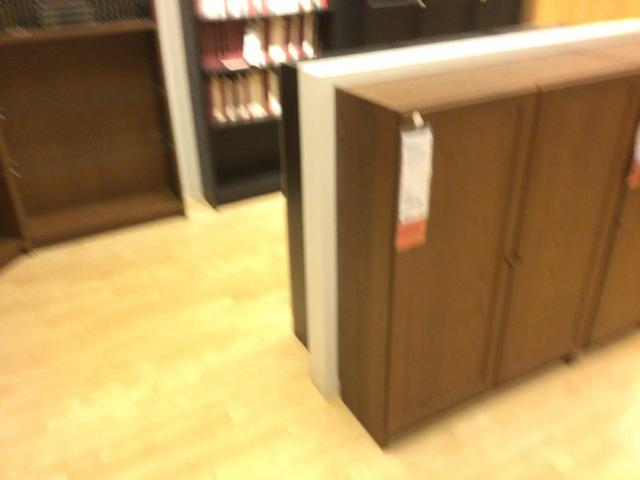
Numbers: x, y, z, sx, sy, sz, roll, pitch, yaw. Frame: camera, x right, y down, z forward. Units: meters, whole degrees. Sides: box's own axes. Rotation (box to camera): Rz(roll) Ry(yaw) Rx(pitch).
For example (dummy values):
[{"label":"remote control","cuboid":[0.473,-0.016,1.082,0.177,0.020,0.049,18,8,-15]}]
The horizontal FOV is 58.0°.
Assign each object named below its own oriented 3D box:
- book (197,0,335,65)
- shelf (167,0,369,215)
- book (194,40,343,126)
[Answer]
[{"label":"book","cuboid":[-0.270,-1.090,2.990,0.700,0.260,0.110,-14,44,-22]},{"label":"shelf","cuboid":[-0.290,-1.240,3.030,0.890,1.990,0.590,-14,27,-22]},{"label":"book","cuboid":[-0.270,-0.850,3.100,0.750,0.310,0.190,-14,44,-22]}]
